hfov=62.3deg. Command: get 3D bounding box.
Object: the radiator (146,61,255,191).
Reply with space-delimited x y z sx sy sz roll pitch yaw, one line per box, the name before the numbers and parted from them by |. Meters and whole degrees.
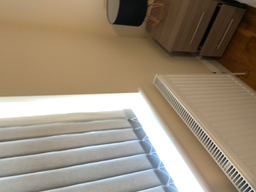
radiator | 0.680 0.200 0.960 1.250 0.750 0.090 -121 38 -45
